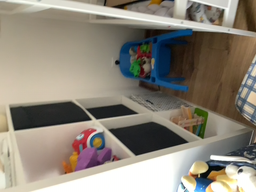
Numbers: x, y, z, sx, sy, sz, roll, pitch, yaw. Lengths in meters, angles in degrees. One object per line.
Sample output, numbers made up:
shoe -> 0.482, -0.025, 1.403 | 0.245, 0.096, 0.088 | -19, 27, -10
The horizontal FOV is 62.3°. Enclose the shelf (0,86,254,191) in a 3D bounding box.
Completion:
shelf -> -0.200, 0.300, 1.100 | 0.810, 1.470, 0.450 | 28, 118, 53
